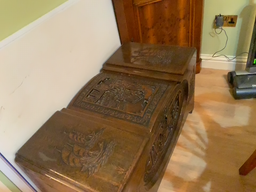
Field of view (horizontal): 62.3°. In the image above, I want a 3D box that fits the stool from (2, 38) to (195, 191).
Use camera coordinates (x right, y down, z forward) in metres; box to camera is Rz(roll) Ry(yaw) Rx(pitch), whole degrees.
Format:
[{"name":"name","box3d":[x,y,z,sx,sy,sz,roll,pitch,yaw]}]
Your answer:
[{"name":"stool","box3d":[0.000,0.150,1.120,0.500,0.490,0.940,10,45,23]}]
